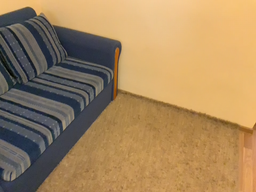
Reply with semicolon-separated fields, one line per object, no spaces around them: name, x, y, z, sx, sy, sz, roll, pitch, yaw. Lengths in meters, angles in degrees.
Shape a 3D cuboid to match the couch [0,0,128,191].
couch;-0.750;-0.060;1.550;0.920;0.790;1.510;18;40;17
